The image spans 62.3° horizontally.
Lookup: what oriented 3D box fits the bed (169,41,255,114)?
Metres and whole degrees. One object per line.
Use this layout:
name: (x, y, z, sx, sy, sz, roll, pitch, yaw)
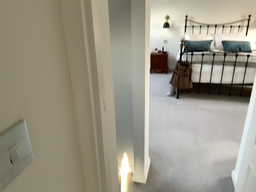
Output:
bed: (1.860, -0.550, 4.420, 1.760, 0.800, 2.160, 5, 25, 14)
